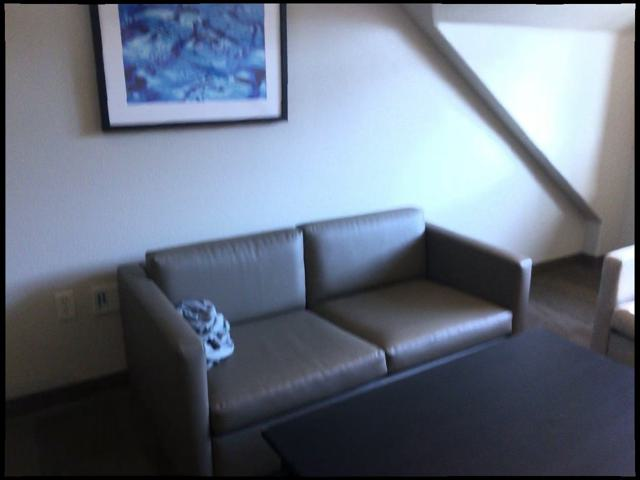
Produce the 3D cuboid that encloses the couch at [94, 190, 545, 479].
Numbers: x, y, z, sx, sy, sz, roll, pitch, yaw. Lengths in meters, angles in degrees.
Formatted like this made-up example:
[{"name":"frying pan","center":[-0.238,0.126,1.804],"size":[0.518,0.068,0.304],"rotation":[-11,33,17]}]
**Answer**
[{"name":"couch","center":[0.000,0.341,2.480],"size":[1.598,0.721,0.920],"rotation":[-11,23,-29]}]
